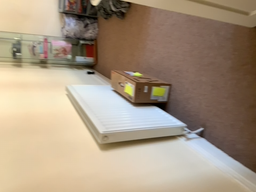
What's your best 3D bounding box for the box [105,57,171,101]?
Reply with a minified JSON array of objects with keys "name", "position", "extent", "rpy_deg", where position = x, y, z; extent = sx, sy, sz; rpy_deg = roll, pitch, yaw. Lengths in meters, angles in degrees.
[{"name":"box","position":[0.070,-0.190,2.140],"extent":[0.650,0.360,0.260],"rpy_deg":[37,123,56]}]
